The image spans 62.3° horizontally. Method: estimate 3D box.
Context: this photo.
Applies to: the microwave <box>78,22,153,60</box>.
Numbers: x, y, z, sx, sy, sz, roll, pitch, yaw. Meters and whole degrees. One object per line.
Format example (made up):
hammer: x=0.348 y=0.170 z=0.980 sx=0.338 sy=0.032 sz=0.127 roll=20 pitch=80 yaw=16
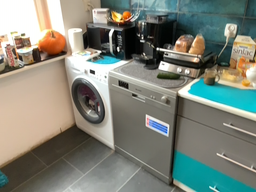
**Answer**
microwave: x=-0.120 y=-0.560 z=2.060 sx=0.600 sy=0.190 sz=0.400 roll=22 pitch=37 yaw=35
